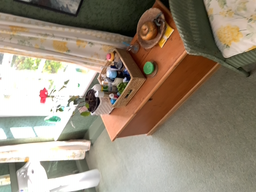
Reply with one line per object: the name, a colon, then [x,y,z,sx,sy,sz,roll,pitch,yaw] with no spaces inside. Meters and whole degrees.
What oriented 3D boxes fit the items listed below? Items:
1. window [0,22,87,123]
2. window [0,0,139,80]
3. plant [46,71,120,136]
window: [-1.180,-0.170,1.970,0.940,1.250,0.370,-53,51,35]
window: [-0.600,-0.380,1.380,0.350,1.400,0.320,-42,58,42]
plant: [-0.370,0.060,1.690,0.350,0.400,0.330,-57,49,33]
